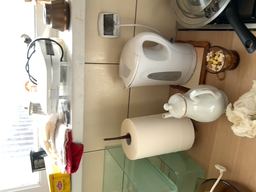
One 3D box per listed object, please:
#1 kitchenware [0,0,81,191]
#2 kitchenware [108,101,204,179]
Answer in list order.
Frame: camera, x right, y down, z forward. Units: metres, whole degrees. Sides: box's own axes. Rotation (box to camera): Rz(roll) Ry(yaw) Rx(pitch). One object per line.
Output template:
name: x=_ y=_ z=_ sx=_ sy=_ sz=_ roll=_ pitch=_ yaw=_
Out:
kitchenware: x=-0.360 y=0.100 z=0.830 sx=0.350 sy=0.250 sz=1.080 roll=-143 pitch=55 yaw=-59
kitchenware: x=0.090 y=0.140 z=0.800 sx=0.240 sy=0.260 sz=0.180 roll=-152 pitch=63 yaw=-62
